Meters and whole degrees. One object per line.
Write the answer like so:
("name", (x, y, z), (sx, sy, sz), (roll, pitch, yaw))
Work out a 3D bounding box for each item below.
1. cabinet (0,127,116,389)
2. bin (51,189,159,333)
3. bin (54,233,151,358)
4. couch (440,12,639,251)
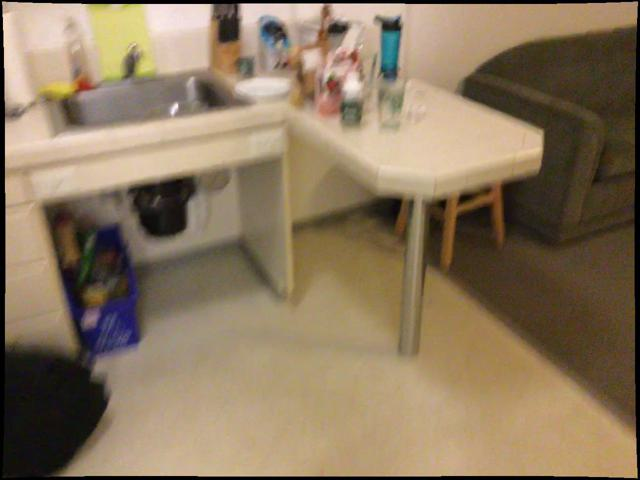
("cabinet", (-1.029, 0.070, 1.880), (0.510, 0.701, 0.380), (-16, 34, -23))
("bin", (-0.839, 0.070, 2.260), (0.270, 0.370, 0.380), (-16, 35, -23))
("bin", (-0.789, 0.200, 2.110), (0.240, 0.350, 0.200), (-16, 34, -23))
("couch", (1.778, -0.731, 3.160), (2.049, 0.781, 0.830), (-16, 35, -23))
